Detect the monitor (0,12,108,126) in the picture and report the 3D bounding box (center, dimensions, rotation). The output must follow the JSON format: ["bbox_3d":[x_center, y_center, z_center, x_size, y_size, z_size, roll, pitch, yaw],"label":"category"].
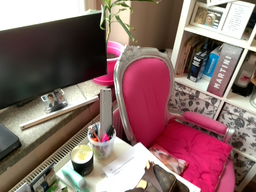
[{"bbox_3d":[-0.330,-0.120,0.920,0.530,0.400,0.050,-21,46,-27],"label":"monitor"}]

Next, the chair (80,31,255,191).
[{"bbox_3d":[0.250,0.290,1.290,0.810,1.000,0.590,29,45,26],"label":"chair"}]
